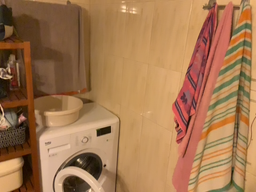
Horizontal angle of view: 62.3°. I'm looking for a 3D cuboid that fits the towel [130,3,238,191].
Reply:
[{"bbox_3d":[0.220,0.150,1.100,0.160,1.140,0.360,-9,23,-35],"label":"towel"}]
